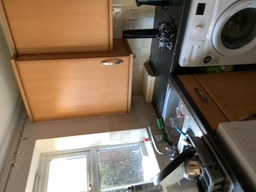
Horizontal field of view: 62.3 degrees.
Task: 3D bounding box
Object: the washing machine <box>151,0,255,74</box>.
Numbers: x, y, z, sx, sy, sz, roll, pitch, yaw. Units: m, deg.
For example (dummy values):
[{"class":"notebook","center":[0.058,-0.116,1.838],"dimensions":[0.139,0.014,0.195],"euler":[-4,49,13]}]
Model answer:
[{"class":"washing machine","center":[0.750,-0.650,1.740],"dimensions":[0.680,0.910,0.610],"euler":[-107,16,-51]}]
